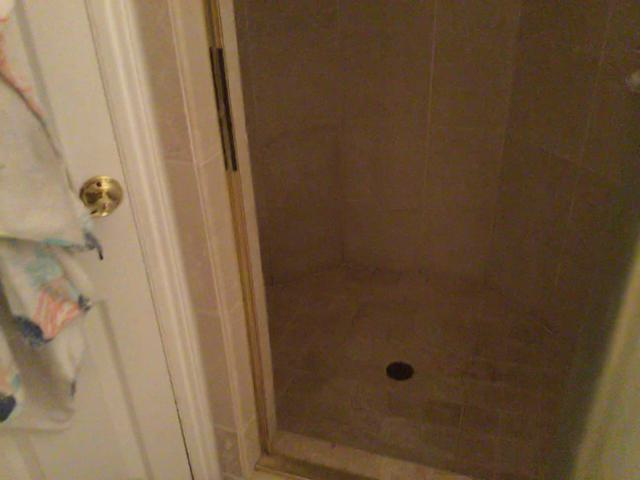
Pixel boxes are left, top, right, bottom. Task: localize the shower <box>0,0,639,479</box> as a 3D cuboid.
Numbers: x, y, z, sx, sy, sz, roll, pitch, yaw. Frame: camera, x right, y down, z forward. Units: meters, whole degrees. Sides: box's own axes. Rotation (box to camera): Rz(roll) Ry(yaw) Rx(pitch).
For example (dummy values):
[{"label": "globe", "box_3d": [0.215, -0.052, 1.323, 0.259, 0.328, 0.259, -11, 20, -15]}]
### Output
[{"label": "shower", "box_3d": [0.160, -0.140, 1.450, 1.180, 1.430, 1.180, 9, 31, 17]}]
